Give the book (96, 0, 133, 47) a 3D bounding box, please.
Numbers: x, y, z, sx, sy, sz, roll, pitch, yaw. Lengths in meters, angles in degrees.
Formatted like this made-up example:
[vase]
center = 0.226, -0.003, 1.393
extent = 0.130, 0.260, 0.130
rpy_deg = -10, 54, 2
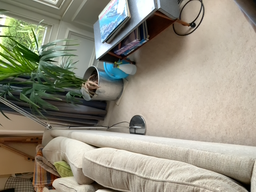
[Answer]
[book]
center = -0.120, -0.620, 1.700
extent = 0.360, 0.080, 0.310
rpy_deg = -26, 64, 47
